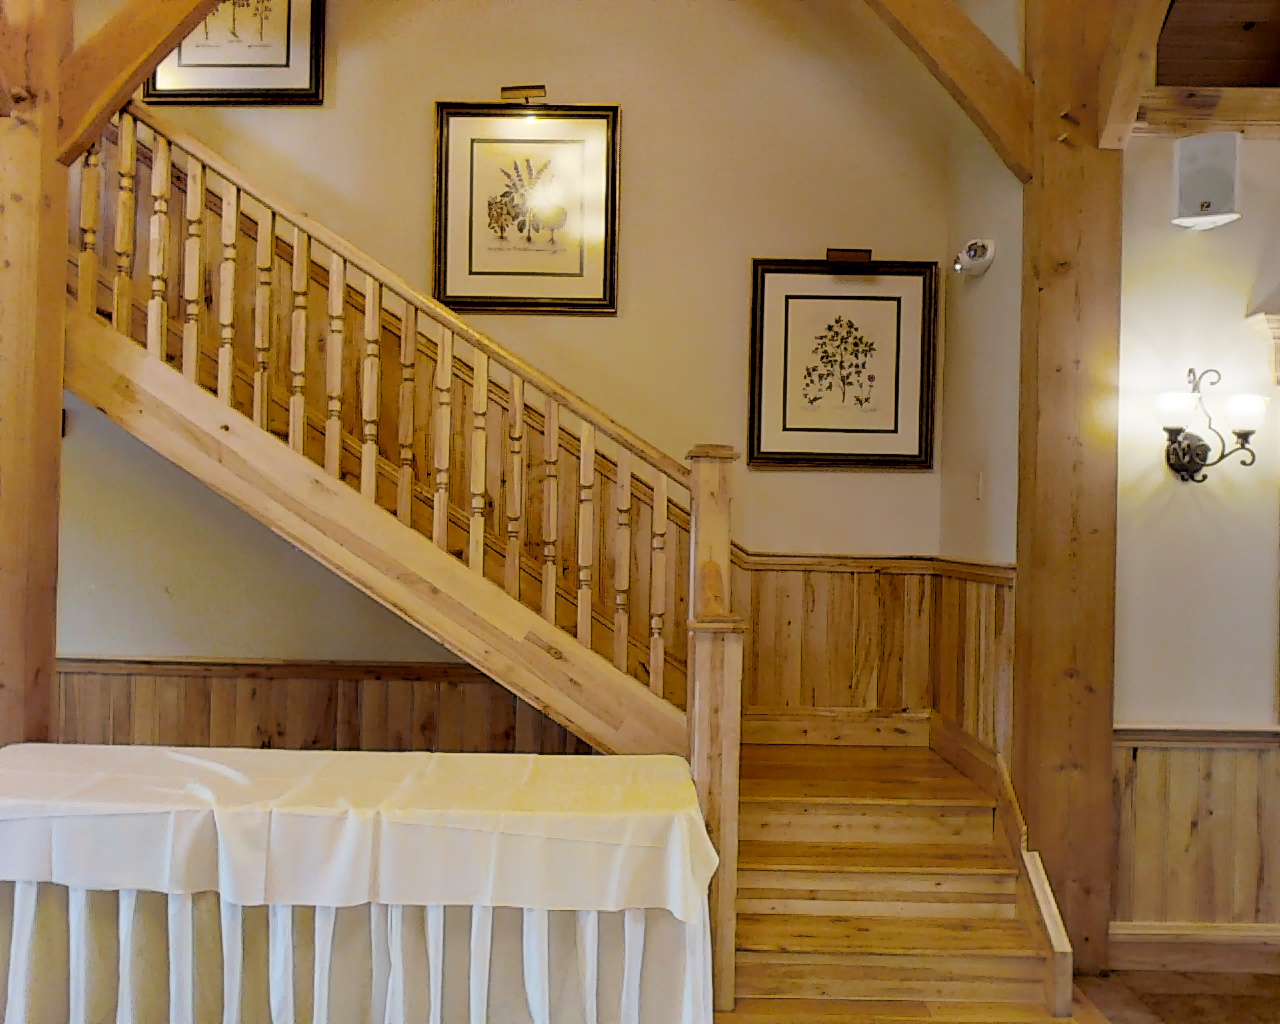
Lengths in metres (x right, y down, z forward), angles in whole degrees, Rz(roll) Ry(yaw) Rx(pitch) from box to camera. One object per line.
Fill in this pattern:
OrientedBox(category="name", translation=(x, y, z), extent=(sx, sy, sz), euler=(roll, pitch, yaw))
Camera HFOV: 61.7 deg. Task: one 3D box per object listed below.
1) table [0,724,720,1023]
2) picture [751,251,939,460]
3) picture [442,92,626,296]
OrientedBox(category="table", translation=(-1.050, 1.190, 3.510), extent=(2.550, 0.760, 0.890), euler=(1, 0, 1))
OrientedBox(category="picture", translation=(0.980, -0.750, 5.130), extent=(0.870, 0.980, 0.040), euler=(1, 0, 2))
OrientedBox(category="picture", translation=(-0.510, -1.530, 5.170), extent=(0.880, 0.960, 0.060), euler=(0, -1, 1))
